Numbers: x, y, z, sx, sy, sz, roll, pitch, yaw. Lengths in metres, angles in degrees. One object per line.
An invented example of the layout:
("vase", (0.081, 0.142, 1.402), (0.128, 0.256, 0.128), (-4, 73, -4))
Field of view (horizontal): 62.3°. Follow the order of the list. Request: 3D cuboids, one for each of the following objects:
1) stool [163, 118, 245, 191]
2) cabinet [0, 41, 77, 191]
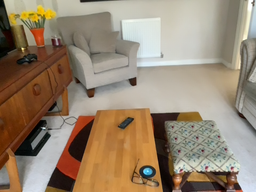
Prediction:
("stool", (0.440, 0.390, 1.380), (0.370, 0.300, 0.450), (-1, 25, 4))
("cabinet", (-0.900, 0.070, 1.700), (0.480, 0.700, 1.510), (-1, 25, 4))
